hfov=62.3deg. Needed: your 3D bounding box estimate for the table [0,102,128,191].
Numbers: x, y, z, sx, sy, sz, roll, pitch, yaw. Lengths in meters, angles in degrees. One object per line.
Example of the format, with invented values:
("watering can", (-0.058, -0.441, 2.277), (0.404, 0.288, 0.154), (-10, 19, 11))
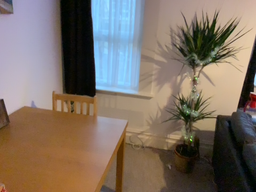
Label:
("table", (-0.550, 0.600, 1.460), (0.900, 0.730, 0.930), (7, 21, 9))
